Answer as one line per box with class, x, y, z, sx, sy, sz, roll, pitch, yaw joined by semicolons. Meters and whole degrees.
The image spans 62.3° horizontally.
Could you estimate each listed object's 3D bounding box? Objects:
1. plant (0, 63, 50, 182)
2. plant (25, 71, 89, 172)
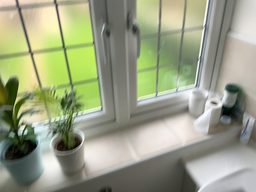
plant;-0.380;0.090;0.700;0.150;0.350;0.140;-12;33;-16
plant;-0.240;0.090;0.750;0.140;0.300;0.150;-12;33;-15
